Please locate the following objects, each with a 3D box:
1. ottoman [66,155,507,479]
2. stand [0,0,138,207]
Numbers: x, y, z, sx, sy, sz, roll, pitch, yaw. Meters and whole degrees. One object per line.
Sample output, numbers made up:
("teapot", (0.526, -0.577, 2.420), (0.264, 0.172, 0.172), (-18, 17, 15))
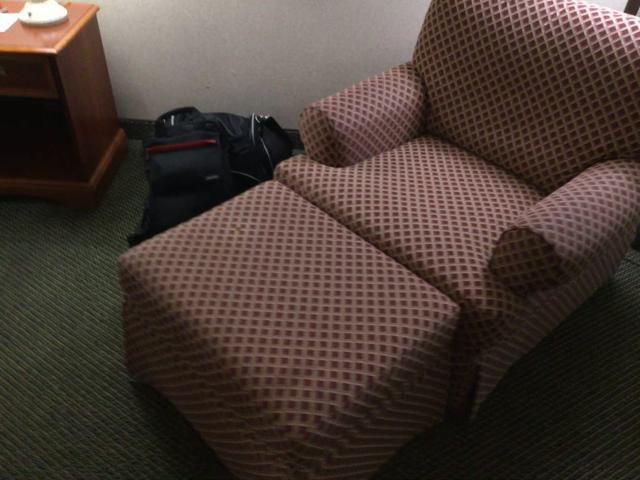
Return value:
("ottoman", (-0.100, 0.240, 1.440), (0.800, 0.450, 0.610), (33, 46, 31))
("stand", (-1.070, -0.550, 2.060), (0.610, 0.660, 0.480), (5, 38, 1))
